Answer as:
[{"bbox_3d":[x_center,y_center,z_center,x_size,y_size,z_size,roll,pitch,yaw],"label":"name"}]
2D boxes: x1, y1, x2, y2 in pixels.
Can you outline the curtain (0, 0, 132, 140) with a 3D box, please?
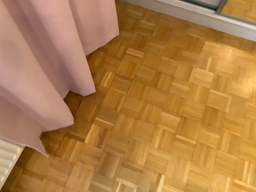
[{"bbox_3d":[-0.280,-0.610,0.310,0.330,2.590,0.770,26,69,9],"label":"curtain"}]
